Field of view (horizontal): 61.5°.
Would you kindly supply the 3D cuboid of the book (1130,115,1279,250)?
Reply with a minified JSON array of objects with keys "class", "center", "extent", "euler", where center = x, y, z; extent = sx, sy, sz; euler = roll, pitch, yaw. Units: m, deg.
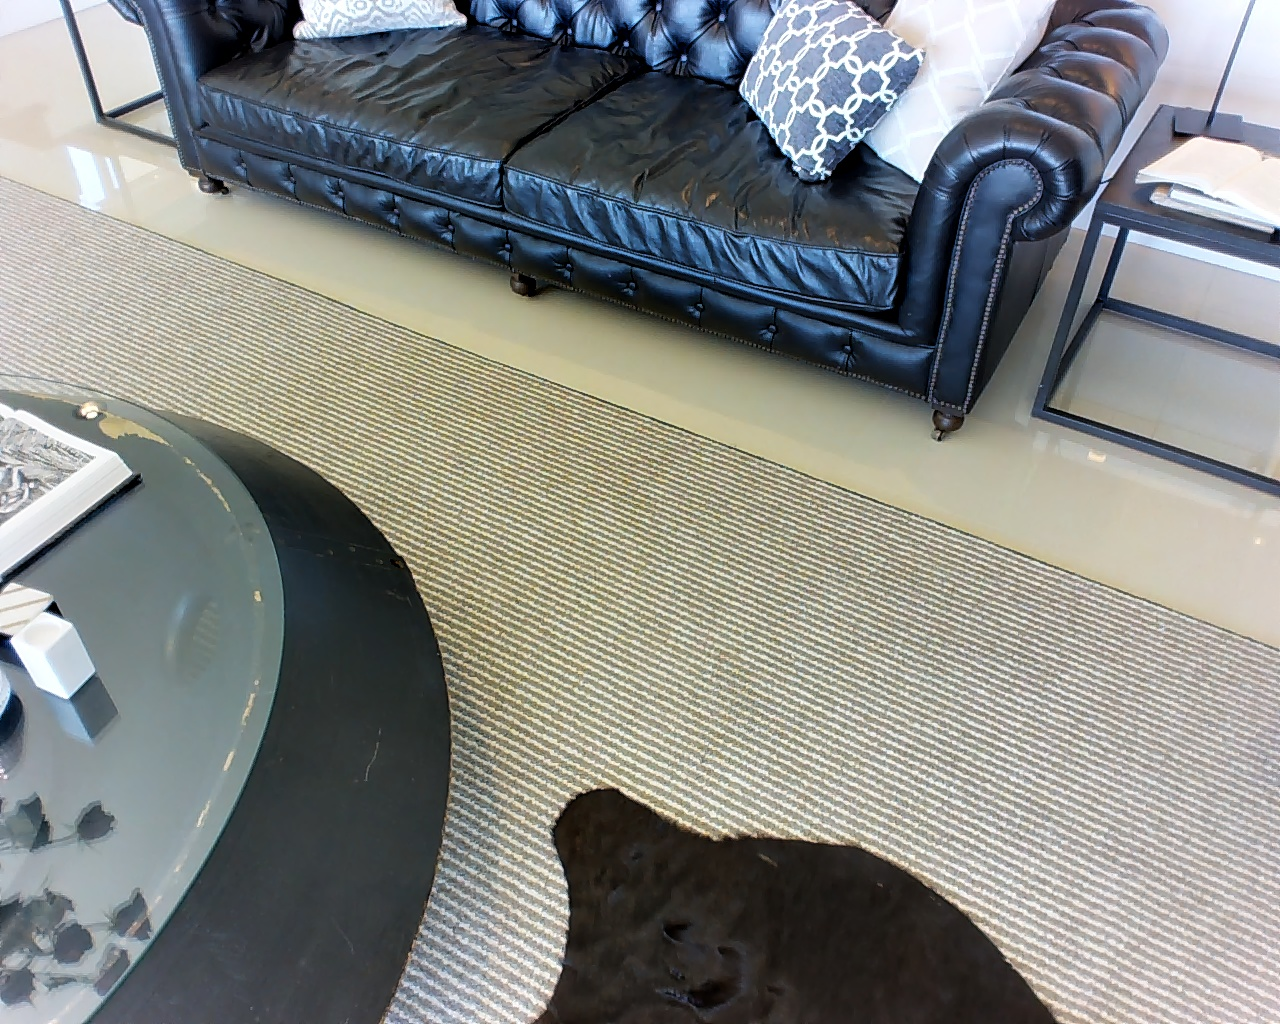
[{"class":"book","center":[1.270,-0.690,2.230],"extent":[0.360,0.070,0.330],"euler":[-32,51,-30]}]

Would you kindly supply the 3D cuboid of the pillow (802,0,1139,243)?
[{"class":"pillow","center":[0.760,-1.070,2.590],"extent":[0.320,0.560,0.560],"euler":[-1,65,-32]}]

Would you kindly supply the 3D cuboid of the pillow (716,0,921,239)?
[{"class":"pillow","center":[0.420,-1.090,2.670],"extent":[0.190,0.420,0.650],"euler":[8,65,-30]}]
